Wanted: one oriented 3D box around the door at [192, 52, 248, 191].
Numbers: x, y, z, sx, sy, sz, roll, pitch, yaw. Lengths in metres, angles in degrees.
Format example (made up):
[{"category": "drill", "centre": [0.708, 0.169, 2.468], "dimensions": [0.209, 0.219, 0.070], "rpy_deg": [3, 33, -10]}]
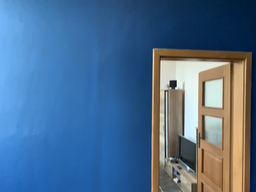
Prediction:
[{"category": "door", "centre": [1.050, 0.640, 2.560], "dimensions": [0.200, 2.130, 0.950], "rpy_deg": [1, 0, -3]}]
